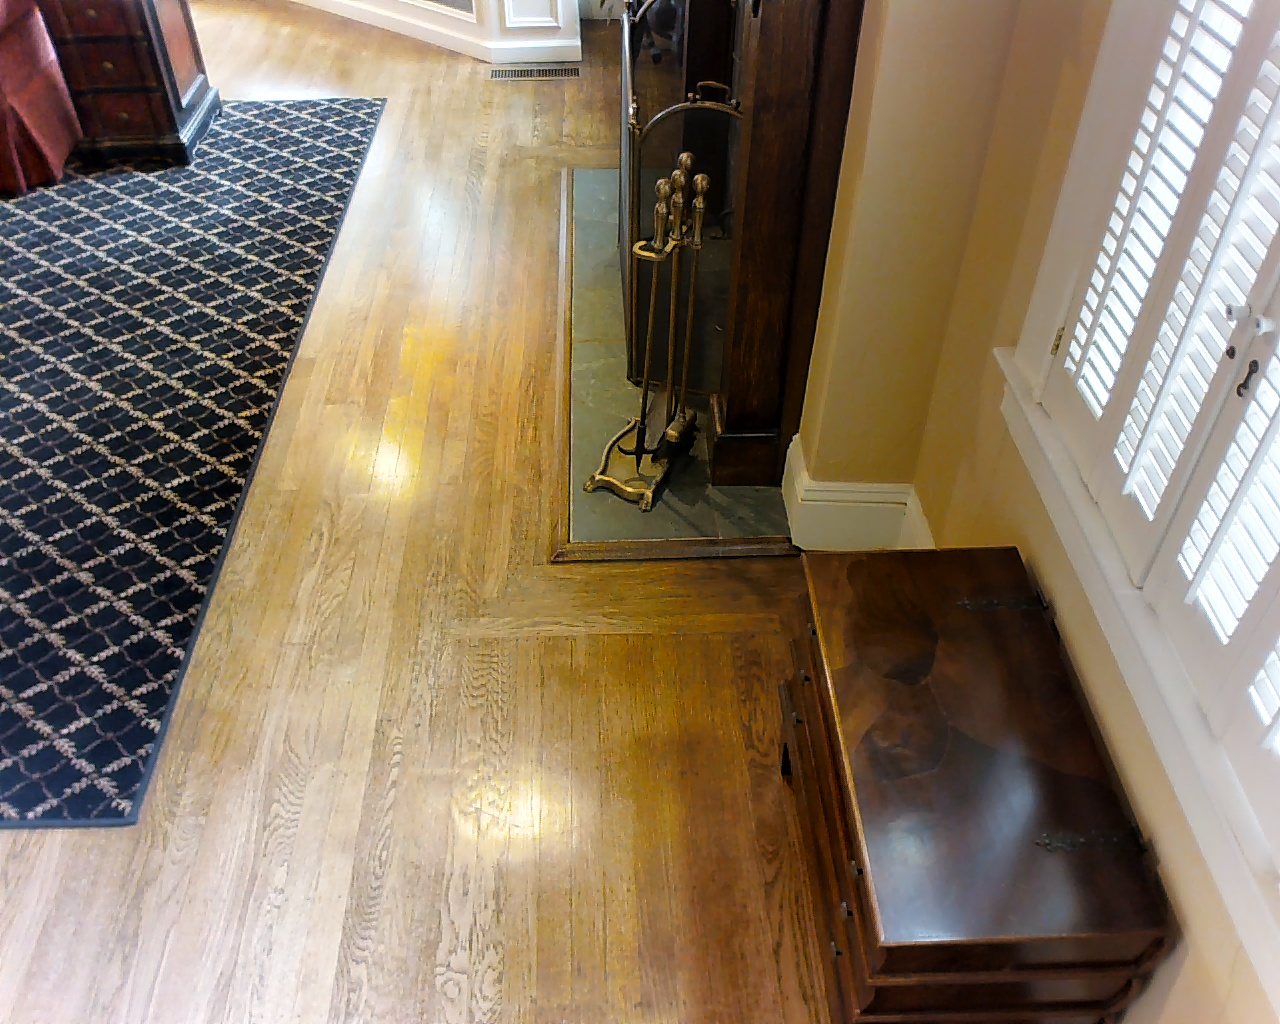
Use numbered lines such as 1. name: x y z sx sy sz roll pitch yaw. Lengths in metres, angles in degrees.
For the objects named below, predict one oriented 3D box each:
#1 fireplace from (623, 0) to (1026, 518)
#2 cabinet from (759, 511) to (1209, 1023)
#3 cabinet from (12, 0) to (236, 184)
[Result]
1. fireplace: 0.270 -1.210 2.300 0.580 1.860 1.570 -2 42 -2
2. cabinet: 0.400 0.410 1.520 0.350 0.490 0.670 -2 42 -2
3. cabinet: -1.680 -1.520 3.560 0.400 0.670 0.510 -2 42 -2
